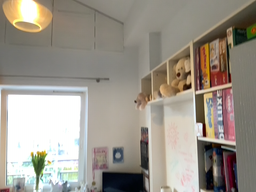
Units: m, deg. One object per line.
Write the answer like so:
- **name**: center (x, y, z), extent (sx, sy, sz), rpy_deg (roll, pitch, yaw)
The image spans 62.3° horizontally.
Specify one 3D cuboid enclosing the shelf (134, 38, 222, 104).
- **shelf**: center (0.360, -0.150, 2.020), extent (0.290, 0.360, 1.180), rpy_deg (1, -7, -14)
